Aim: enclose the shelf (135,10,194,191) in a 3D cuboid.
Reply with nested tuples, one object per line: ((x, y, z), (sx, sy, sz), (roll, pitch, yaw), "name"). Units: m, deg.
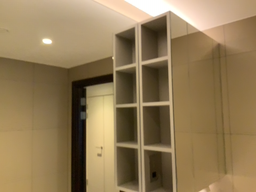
((0.220, 0.060, 1.310), (0.240, 1.060, 0.230), (-5, -7, 40), "shelf")
